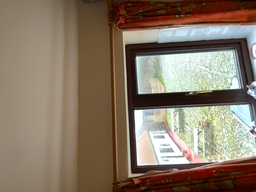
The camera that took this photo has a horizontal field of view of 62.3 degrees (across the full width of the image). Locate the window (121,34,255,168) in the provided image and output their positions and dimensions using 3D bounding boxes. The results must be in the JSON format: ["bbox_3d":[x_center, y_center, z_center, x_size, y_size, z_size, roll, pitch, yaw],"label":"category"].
[{"bbox_3d":[0.390,0.020,1.420,0.120,0.830,0.830,82,-175,-77],"label":"window"}]
